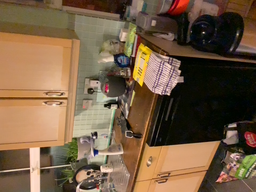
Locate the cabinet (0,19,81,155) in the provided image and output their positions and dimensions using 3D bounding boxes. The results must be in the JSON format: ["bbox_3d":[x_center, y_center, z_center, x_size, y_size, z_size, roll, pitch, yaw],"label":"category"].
[{"bbox_3d":[-0.790,-0.050,1.430,0.360,0.810,0.830,-126,42,-55],"label":"cabinet"}]

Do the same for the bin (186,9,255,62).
[{"bbox_3d":[0.740,-0.390,1.420,0.270,0.590,0.240,-125,41,-55],"label":"bin"}]

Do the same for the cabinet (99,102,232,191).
[{"bbox_3d":[0.240,0.910,2.230,0.610,0.880,1.590,-126,42,-55],"label":"cabinet"}]
